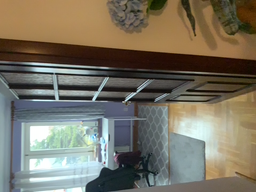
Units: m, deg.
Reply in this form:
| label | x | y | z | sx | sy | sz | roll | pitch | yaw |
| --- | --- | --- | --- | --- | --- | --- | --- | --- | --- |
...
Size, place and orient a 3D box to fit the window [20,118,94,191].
| label | x | y | z | sx | sy | sz | roll | pitch | yaw |
| --- | --- | --- | --- | --- | --- | --- | --- | --- | --- |
| window | -1.520 | 1.590 | 4.660 | 0.170 | 1.490 | 2.200 | 166 | 104 | -70 |

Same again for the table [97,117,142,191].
| label | x | y | z | sx | sy | sz | roll | pitch | yaw |
| --- | --- | --- | --- | --- | --- | --- | --- | --- | --- |
| table | -0.200 | 1.130 | 4.430 | 0.670 | 0.760 | 1.330 | 169 | 101 | -71 |
